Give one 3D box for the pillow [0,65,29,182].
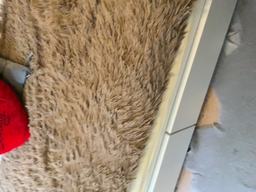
[{"bbox_3d":[-0.670,0.120,1.050,0.300,0.160,0.510,19,103,35],"label":"pillow"}]
